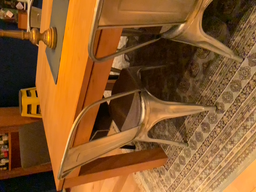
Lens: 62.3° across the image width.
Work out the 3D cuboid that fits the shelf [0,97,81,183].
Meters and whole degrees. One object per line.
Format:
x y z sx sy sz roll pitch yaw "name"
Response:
-1.930 0.740 3.360 0.520 2.030 1.380 56 136 42 "shelf"
